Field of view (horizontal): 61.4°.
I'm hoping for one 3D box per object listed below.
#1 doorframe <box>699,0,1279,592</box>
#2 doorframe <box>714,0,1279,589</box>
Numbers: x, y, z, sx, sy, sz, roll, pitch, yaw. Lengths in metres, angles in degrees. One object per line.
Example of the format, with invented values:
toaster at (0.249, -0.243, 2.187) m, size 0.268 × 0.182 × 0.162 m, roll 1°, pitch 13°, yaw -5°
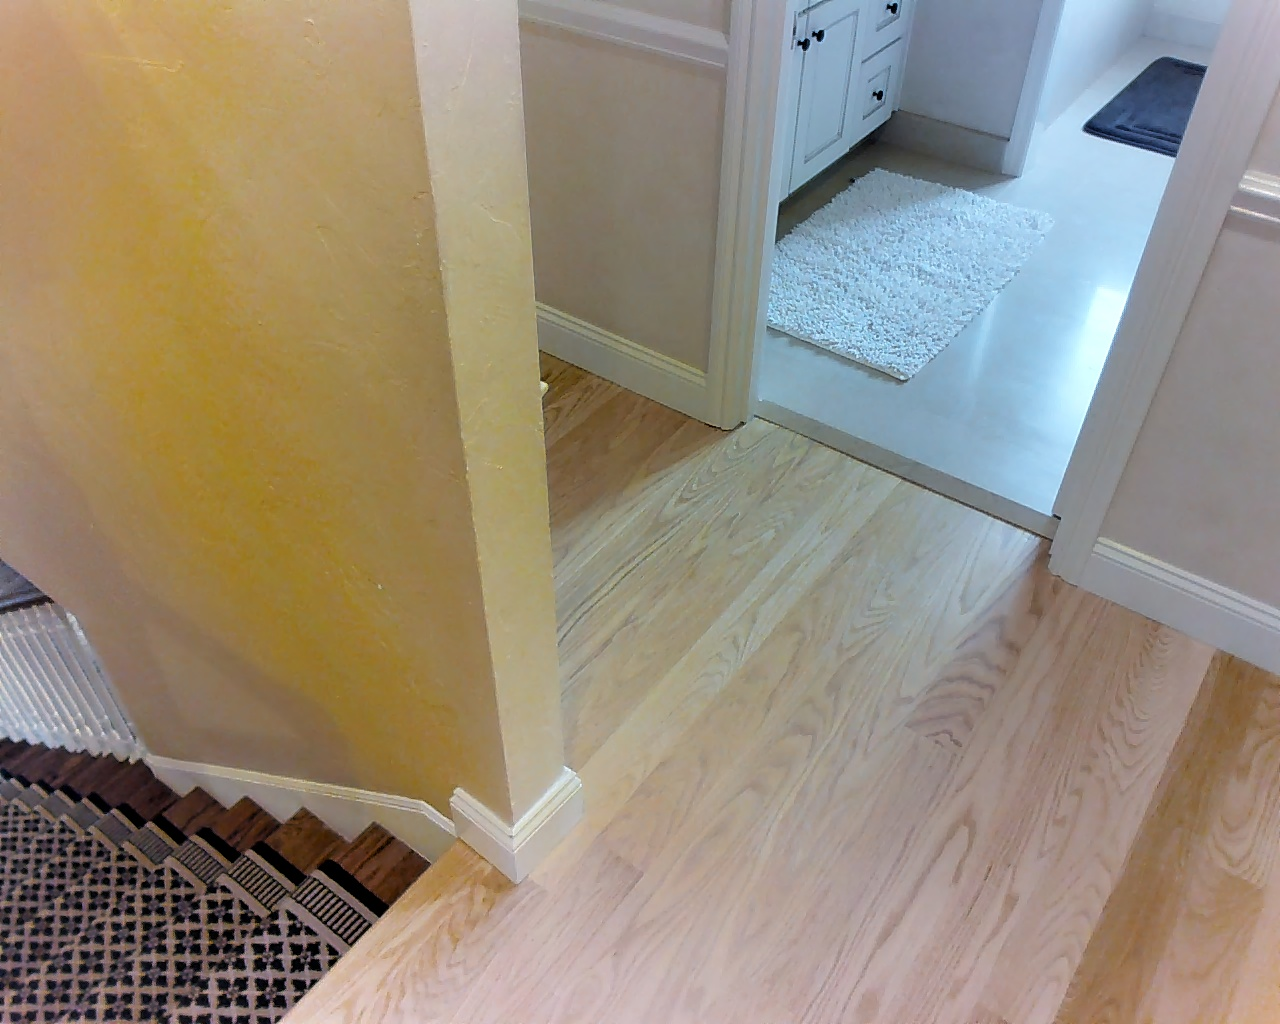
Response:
doorframe at (0.580, -0.850, 1.750) m, size 0.940 × 2.110 × 0.170 m, roll 27°, pitch 48°, yaw 26°
doorframe at (0.580, -0.830, 1.760) m, size 0.840 × 2.080 × 0.190 m, roll 27°, pitch 48°, yaw 26°
